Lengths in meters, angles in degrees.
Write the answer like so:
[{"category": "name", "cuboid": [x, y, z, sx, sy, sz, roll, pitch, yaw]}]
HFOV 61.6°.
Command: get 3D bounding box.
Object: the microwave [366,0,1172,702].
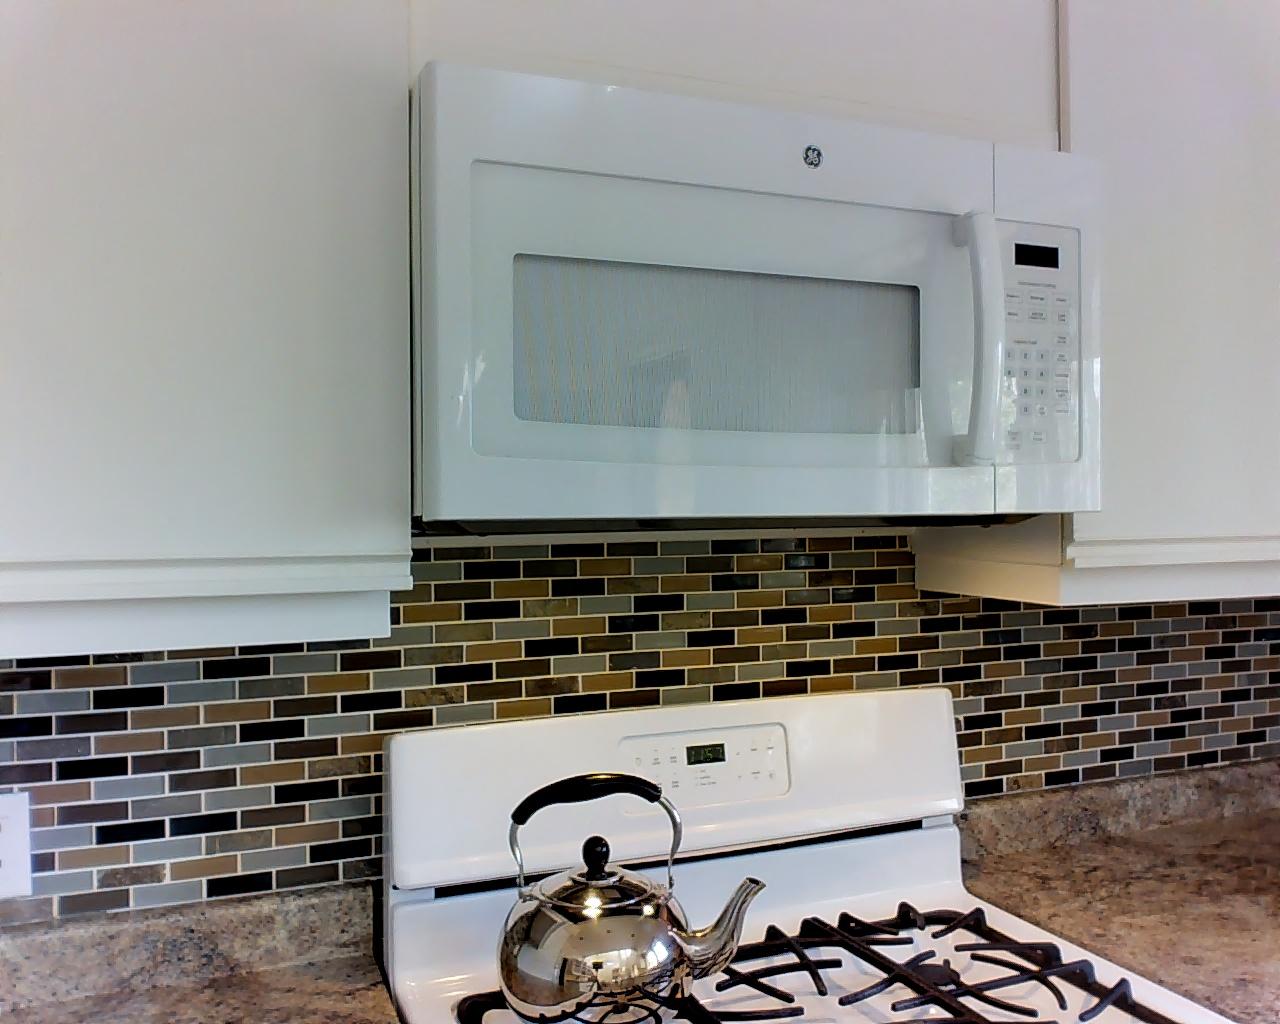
[{"category": "microwave", "cuboid": [0.140, -0.140, 1.240, 0.840, 0.600, 0.390, 0, 0, -22]}]
